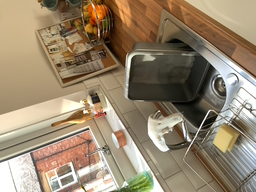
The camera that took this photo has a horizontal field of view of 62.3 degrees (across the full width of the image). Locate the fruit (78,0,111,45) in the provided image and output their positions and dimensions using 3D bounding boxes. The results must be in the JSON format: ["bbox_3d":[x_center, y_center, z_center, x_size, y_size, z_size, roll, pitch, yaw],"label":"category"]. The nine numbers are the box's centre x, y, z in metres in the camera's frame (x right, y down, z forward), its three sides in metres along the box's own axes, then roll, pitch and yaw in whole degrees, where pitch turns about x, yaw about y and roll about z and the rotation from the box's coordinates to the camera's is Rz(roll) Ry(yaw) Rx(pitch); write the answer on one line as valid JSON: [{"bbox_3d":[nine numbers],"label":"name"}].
[{"bbox_3d":[-0.250,-0.570,1.490,0.260,0.120,0.290,61,155,23],"label":"fruit"}]
